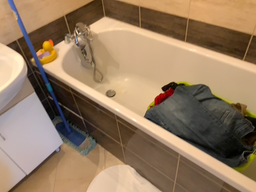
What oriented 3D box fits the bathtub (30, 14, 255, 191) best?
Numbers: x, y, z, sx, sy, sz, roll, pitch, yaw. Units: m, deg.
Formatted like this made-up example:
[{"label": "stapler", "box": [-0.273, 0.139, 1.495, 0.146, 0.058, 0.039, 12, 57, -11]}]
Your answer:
[{"label": "bathtub", "box": [0.260, 0.100, 1.340, 1.650, 0.610, 0.700, 28, 55, 29]}]
